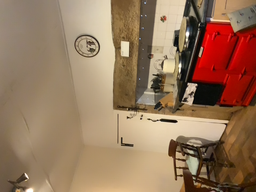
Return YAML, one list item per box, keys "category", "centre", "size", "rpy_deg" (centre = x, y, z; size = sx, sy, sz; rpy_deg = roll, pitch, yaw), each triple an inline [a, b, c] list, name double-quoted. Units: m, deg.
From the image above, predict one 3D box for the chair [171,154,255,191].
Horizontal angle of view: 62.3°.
- category: "chair"
  centre: [0.970, 1.080, 2.250]
  size: [0.550, 0.880, 0.660]
  rpy_deg: [-82, -4, -46]

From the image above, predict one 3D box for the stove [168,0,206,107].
- category: "stove"
  centre: [0.660, -0.500, 2.560]
  size: [0.700, 0.140, 1.080]
  rpy_deg: [-82, -4, -48]

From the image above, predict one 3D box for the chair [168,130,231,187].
- category: "chair"
  centre: [1.090, 0.990, 3.440]
  size: [0.660, 0.770, 0.520]
  rpy_deg: [-80, -6, -61]
